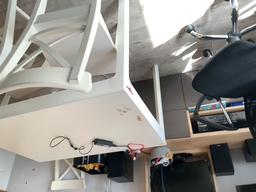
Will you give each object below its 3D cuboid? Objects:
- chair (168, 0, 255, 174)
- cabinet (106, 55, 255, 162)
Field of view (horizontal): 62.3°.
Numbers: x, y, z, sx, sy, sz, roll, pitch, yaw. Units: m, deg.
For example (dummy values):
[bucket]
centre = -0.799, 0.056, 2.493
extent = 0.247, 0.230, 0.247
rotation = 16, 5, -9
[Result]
[chair]
centre = 0.710, -0.110, 1.330
extent = 0.570, 0.990, 0.630
rotation = 10, 146, -17
[cabinet]
centre = 0.890, 0.120, 1.990
extent = 2.110, 0.670, 0.540
rotation = -10, 147, 15
